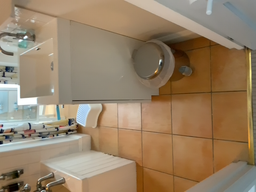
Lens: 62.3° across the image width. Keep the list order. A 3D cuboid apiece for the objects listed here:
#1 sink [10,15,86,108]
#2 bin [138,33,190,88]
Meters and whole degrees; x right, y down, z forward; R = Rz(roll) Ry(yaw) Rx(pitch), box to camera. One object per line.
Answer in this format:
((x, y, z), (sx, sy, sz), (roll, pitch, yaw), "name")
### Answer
((-0.540, -0.160, 1.340), (0.660, 0.170, 0.450), (-6, 87, 44), "sink")
((0.250, -0.220, 1.450), (0.200, 0.300, 0.310), (-5, 87, 44), "bin")
